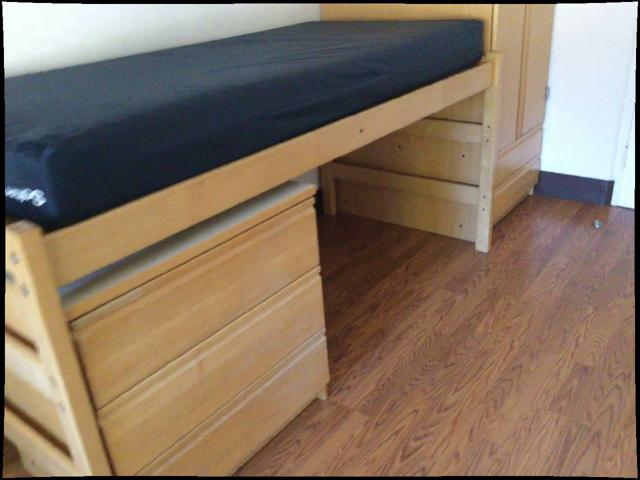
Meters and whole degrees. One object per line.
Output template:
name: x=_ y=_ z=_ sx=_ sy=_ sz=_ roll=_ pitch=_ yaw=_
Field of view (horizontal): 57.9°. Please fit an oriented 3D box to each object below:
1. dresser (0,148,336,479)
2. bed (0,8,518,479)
dresser: x=-0.490 y=0.250 z=1.660 sx=0.700 sy=0.751 sz=0.790 roll=15 pitch=32 yaw=35
bed: x=-0.240 y=-0.170 z=2.150 sx=1.099 sy=1.051 sz=2.150 roll=15 pitch=32 yaw=35
